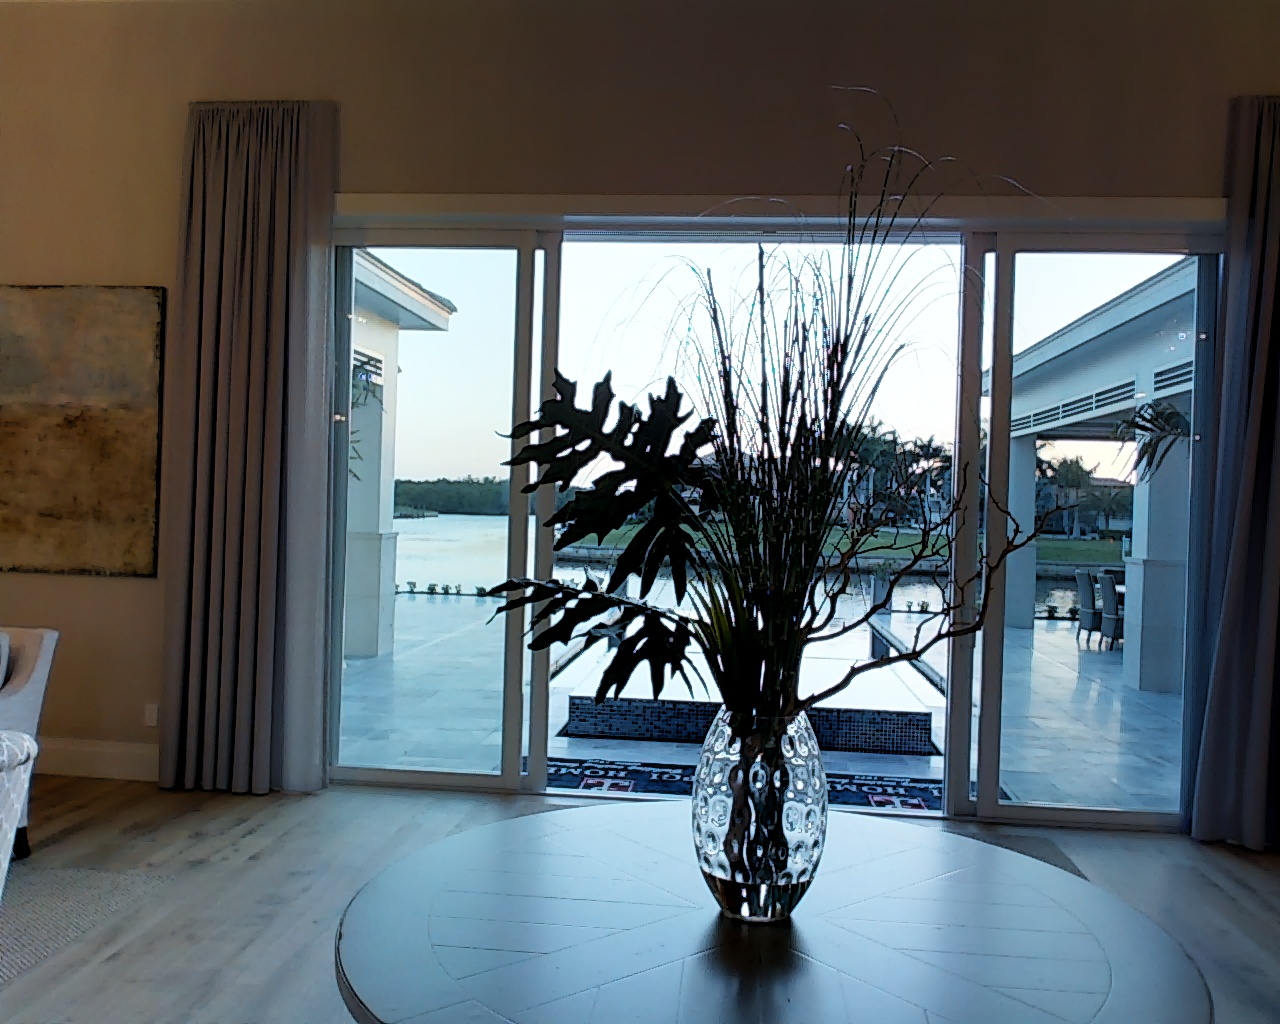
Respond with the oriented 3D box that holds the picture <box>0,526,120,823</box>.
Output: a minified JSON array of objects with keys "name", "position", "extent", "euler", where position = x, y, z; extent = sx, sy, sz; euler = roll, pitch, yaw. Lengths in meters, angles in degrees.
[{"name":"picture","position":[-3.529,0.850,5.850],"extent":[1.330,1.540,0.200],"euler":[2,0,6]}]
